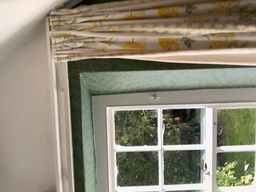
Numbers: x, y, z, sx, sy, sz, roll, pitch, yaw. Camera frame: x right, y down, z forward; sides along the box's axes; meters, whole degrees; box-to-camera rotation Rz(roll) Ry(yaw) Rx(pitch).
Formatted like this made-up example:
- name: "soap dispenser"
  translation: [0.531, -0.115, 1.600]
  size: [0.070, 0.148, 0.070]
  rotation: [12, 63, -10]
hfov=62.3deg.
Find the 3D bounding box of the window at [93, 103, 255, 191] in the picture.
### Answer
- name: "window"
  translation: [0.440, 0.440, 1.320]
  size: [0.160, 1.240, 0.750]
  rotation: [-99, 7, -81]
